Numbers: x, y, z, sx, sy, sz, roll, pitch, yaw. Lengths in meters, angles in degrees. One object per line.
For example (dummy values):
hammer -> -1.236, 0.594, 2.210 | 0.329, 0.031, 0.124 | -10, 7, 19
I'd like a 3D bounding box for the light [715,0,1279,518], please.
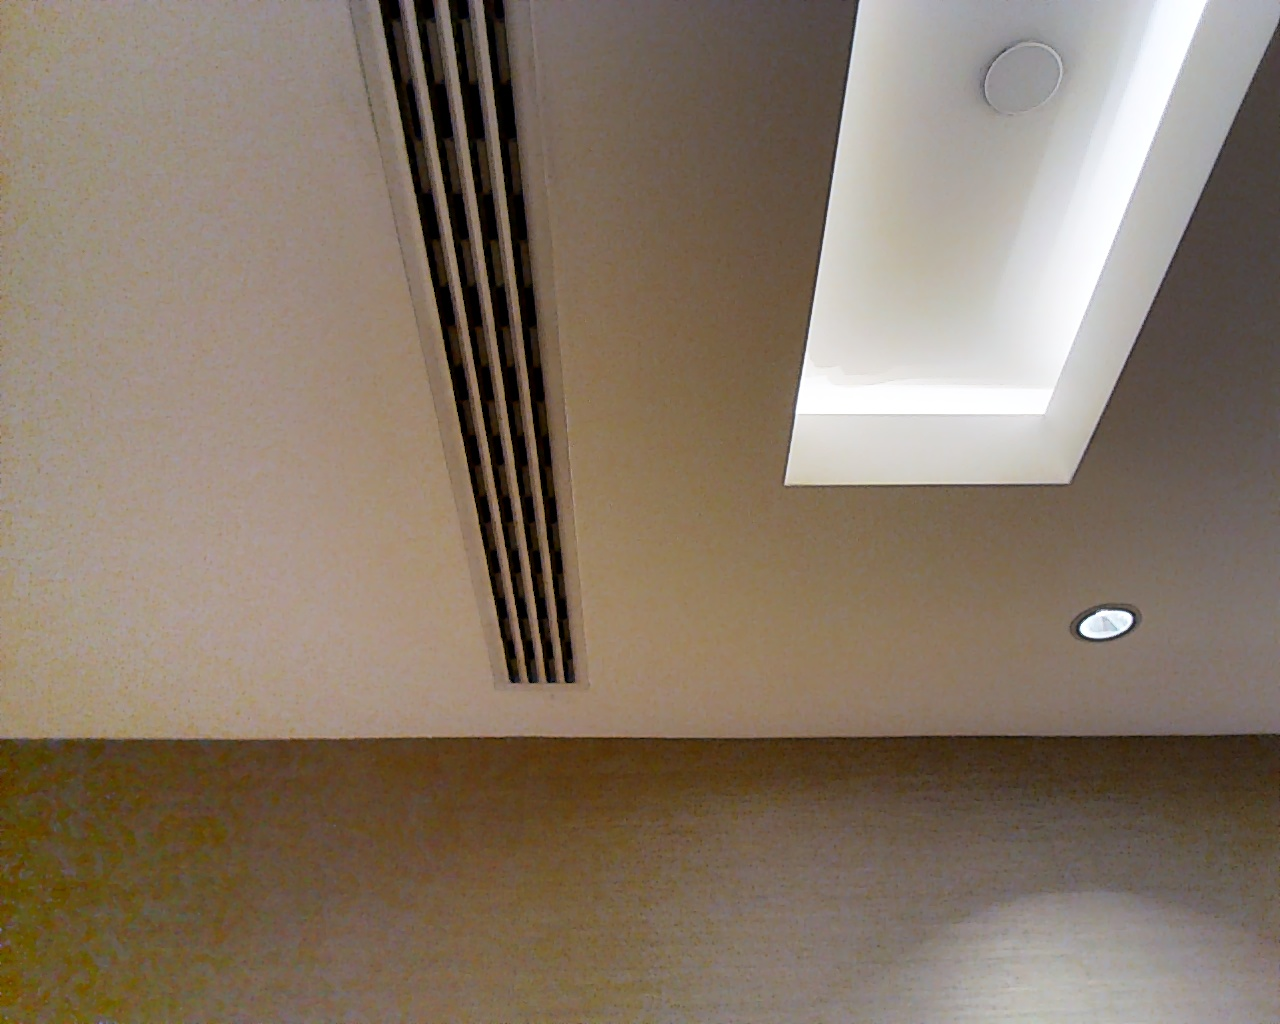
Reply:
light -> 0.350, -0.430, 1.100 | 0.470, 0.210, 1.100 | 0, -41, -1
